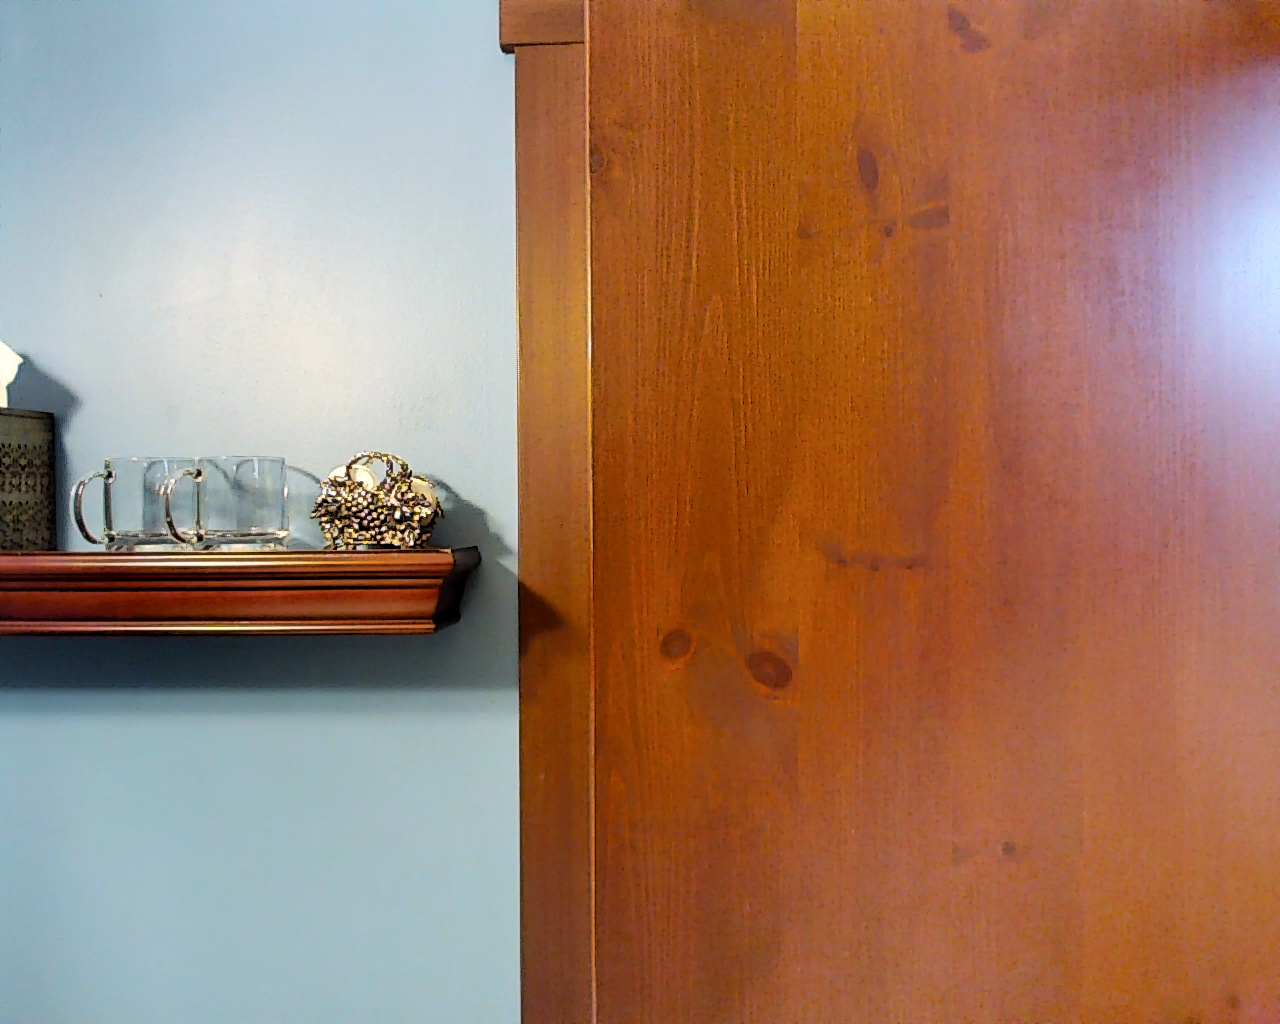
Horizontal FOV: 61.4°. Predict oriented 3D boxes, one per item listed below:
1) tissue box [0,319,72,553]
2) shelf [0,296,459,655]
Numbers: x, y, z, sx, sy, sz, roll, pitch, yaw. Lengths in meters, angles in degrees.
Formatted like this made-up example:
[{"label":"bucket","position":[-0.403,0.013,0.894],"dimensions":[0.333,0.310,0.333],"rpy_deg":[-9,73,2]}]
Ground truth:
[{"label":"tissue box","position":[-0.670,-0.070,1.070],"dimensions":[0.140,0.220,0.130],"rpy_deg":[-1,-1,2]},{"label":"shelf","position":[-0.470,-0.030,1.050],"dimensions":[0.560,0.320,0.140],"rpy_deg":[-1,-1,2]}]
